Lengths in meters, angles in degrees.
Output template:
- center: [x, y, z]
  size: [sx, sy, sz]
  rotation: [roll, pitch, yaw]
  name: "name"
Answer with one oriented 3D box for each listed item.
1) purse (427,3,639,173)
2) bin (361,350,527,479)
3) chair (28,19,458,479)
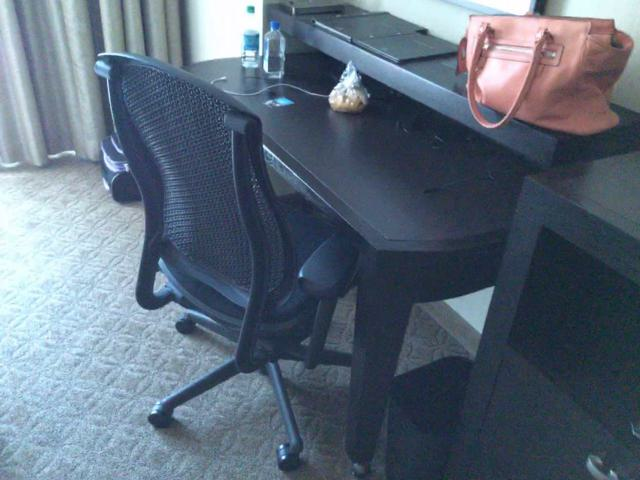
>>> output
- center: [0.490, -0.360, 1.290]
  size: [0.280, 0.270, 0.390]
  rotation: [-10, 31, -26]
  name: "purse"
- center: [0.310, 0.510, 1.510]
  size: [0.300, 0.290, 0.240]
  rotation: [-10, 31, -26]
  name: "bin"
- center: [-0.180, 0.020, 1.530]
  size: [0.650, 1.030, 0.700]
  rotation: [24, 33, 34]
  name: "chair"
